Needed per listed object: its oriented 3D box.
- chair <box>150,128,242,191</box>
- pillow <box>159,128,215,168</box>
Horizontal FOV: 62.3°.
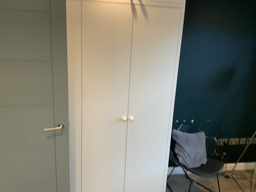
[{"bbox_3d":[0.740,0.820,2.420,0.730,0.640,0.590,-5,16,-29],"label":"chair"},{"bbox_3d":[0.680,0.630,2.530,0.470,0.460,0.270,-1,51,-9],"label":"pillow"}]
